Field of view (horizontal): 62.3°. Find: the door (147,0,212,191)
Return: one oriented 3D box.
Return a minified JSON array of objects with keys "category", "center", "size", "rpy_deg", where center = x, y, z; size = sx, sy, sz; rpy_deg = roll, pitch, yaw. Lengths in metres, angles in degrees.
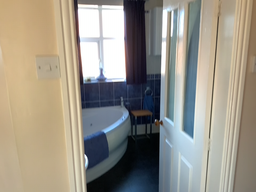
[{"category":"door","center":[0.350,0.120,1.750],"size":[0.090,1.930,0.750],"rpy_deg":[-4,14,-14]}]

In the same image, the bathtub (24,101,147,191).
[{"category":"bathtub","center":[-0.590,0.570,3.080],"size":[1.320,0.560,1.480],"rpy_deg":[-3,14,-13]}]
